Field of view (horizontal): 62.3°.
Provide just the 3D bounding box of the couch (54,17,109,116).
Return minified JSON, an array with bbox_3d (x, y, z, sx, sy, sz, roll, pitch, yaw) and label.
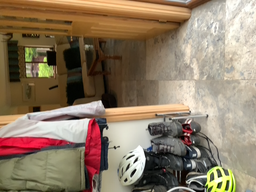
[{"bbox_3d":[-1.080,-0.580,4.630,0.960,0.890,1.840,143,121,-64],"label":"couch"}]
